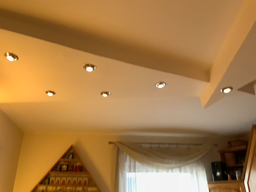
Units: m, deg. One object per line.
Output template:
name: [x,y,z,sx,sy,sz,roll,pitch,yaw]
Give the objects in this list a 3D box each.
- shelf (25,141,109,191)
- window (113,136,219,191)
shelf: [-0.770,0.970,2.820,1.020,0.690,0.070,3,-26,-8]
window: [0.530,1.420,2.800,1.450,1.690,0.200,5,-26,-12]
